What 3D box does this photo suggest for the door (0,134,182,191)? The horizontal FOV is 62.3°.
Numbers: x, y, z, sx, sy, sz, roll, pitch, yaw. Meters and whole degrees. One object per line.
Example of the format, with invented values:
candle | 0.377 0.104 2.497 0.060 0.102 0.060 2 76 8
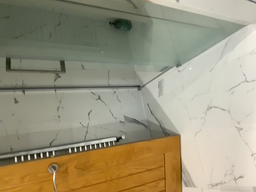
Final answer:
door | -0.430 0.670 1.160 0.030 1.980 0.660 5 96 58
